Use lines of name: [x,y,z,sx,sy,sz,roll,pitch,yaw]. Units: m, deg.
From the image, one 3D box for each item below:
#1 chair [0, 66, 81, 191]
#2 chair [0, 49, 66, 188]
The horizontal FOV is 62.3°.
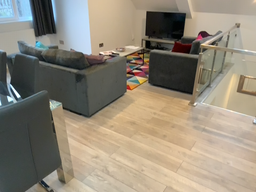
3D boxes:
chair: [-0.710,0.410,1.410,0.530,1.040,0.480,15,29,27]
chair: [-1.000,0.170,1.920,0.460,1.030,0.560,16,30,29]
